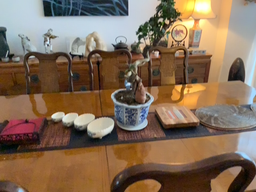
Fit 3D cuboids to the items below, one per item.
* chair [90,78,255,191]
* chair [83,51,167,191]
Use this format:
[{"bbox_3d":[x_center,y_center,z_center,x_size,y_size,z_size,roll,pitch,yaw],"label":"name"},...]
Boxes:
[{"bbox_3d":[0.100,0.520,0.970,0.460,1.040,0.610,-4,24,-8],"label":"chair"},{"bbox_3d":[-0.060,0.200,1.770,0.520,1.010,0.600,-4,24,-9],"label":"chair"}]
